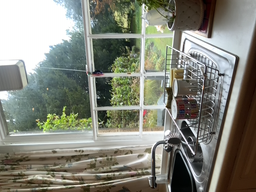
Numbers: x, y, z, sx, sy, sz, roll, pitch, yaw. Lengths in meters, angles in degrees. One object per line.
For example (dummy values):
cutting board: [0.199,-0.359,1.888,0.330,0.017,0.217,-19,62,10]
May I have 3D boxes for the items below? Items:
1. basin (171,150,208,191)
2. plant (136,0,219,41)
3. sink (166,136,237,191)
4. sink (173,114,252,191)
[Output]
basin: [0.330,0.510,1.150,0.360,0.070,0.240,-102,12,-64]
plant: [0.180,-0.320,0.840,0.170,0.270,0.170,-102,12,-65]
sink: [0.360,0.510,1.140,0.440,0.170,0.390,-102,12,-65]
sink: [0.370,0.260,1.030,0.430,0.170,0.140,-102,12,-65]
